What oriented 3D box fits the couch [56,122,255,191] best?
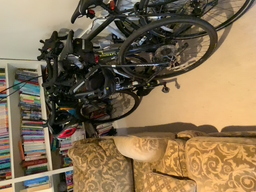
[{"bbox_3d":[0.170,0.720,1.540,1.770,0.820,0.880,-18,77,55],"label":"couch"}]
